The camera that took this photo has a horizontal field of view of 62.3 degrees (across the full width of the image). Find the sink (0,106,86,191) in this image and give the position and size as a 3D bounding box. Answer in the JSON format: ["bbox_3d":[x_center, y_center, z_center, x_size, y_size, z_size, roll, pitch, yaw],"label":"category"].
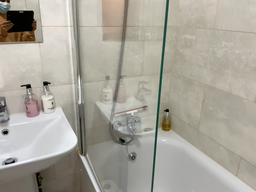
[{"bbox_3d":[-0.520,0.250,0.900,0.560,0.180,0.450,-8,23,-25],"label":"sink"}]
